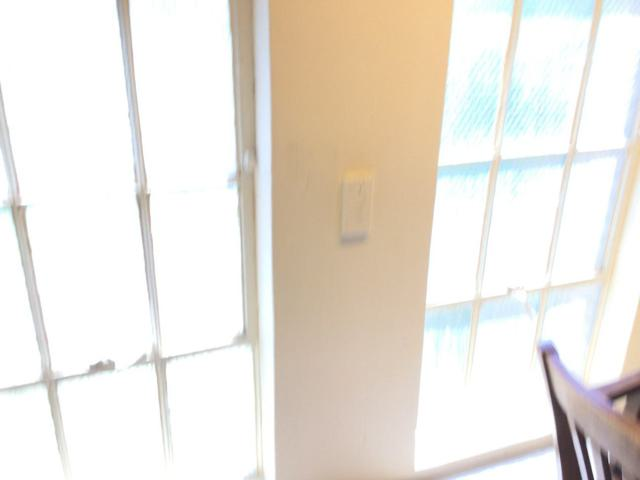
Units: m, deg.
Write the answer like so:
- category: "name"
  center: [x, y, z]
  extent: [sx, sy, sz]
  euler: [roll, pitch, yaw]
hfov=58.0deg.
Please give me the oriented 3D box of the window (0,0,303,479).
- category: "window"
  center: [-0.490, -0.090, 1.210]
  extent: [0.840, 1.870, 0.290]
  euler: [-8, 21, -20]

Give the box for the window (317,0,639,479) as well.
- category: "window"
  center: [0.510, -0.210, 1.590]
  extent: [0.990, 1.940, 0.300]
  euler: [-8, 21, -20]

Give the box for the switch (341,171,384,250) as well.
- category: "switch"
  center: [0.100, -0.070, 1.370]
  extent: [0.100, 0.180, 0.020]
  euler: [-7, 21, -19]
